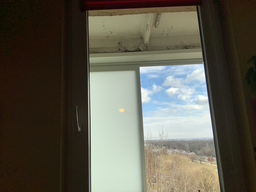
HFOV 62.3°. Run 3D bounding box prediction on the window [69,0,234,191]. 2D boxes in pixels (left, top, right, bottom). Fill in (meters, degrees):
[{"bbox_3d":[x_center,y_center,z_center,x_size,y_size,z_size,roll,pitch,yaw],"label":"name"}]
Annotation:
[{"bbox_3d":[0.090,0.050,1.060,0.740,1.350,0.060,-2,-11,-1],"label":"window"}]
